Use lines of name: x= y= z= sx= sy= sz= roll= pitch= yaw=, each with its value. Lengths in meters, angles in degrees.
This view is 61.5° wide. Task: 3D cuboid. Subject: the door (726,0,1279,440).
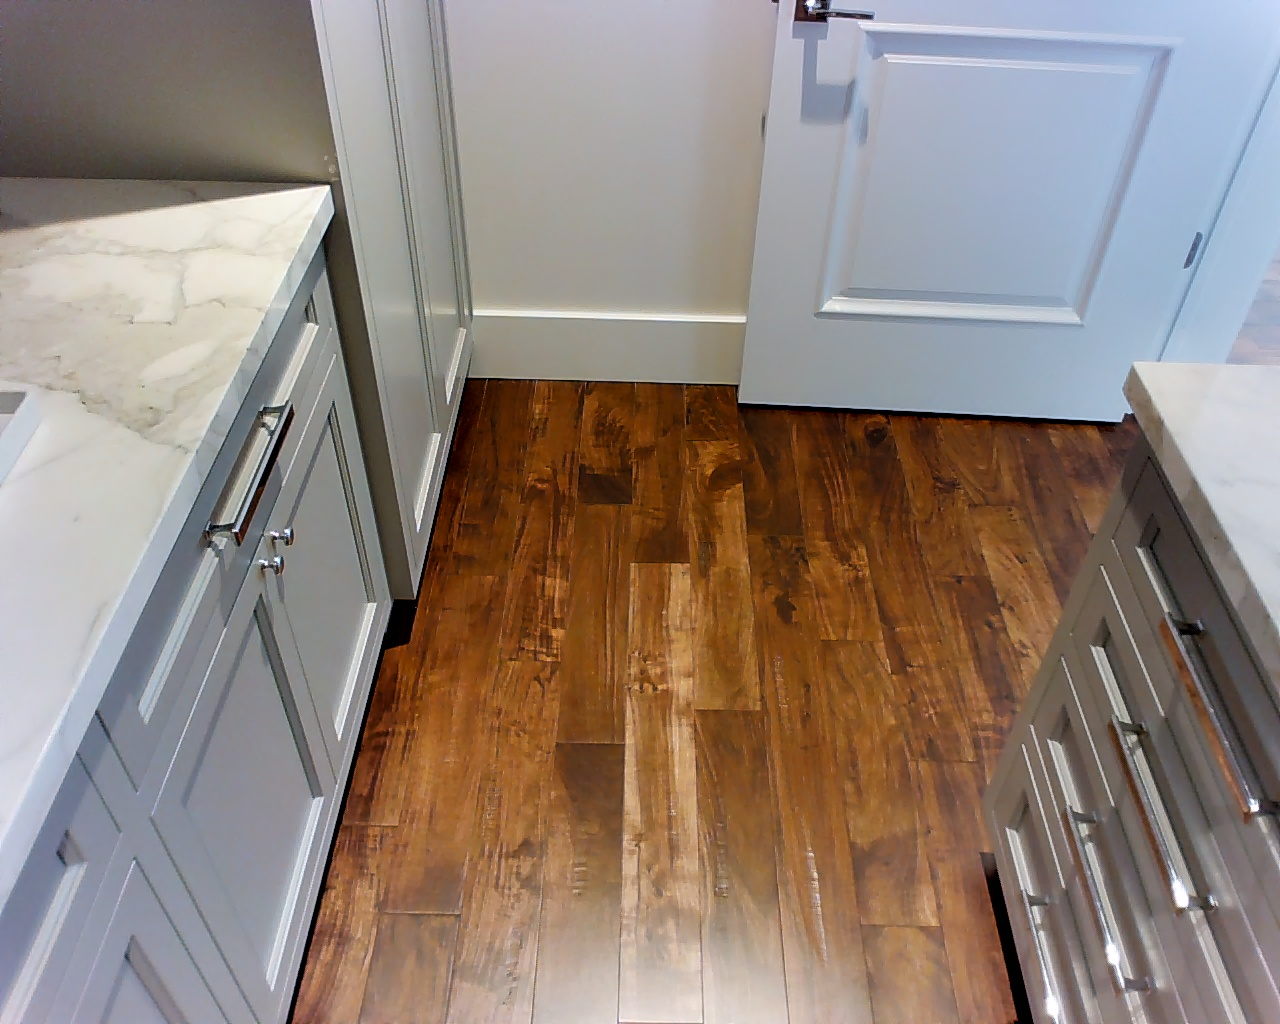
door: x=0.680 y=-1.030 z=1.860 sx=0.900 sy=2.170 sz=0.100 roll=3 pitch=42 yaw=2
